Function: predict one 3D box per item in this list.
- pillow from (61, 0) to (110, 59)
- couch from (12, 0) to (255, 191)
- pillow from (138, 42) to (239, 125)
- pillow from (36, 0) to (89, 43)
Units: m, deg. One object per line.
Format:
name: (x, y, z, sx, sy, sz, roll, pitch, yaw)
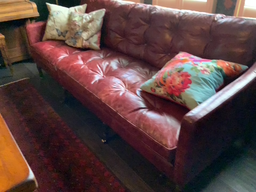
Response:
pillow: (-0.420, -0.670, 2.170, 0.410, 0.410, 0.210, 36, 66, 9)
couch: (-0.110, -0.340, 1.880, 0.930, 0.870, 2.210, -24, 39, -32)
pillow: (0.350, -0.110, 1.280, 0.400, 0.260, 0.410, 27, 41, 36)
pillow: (-0.700, -0.850, 2.360, 0.470, 0.390, 0.230, 7, 59, -2)
